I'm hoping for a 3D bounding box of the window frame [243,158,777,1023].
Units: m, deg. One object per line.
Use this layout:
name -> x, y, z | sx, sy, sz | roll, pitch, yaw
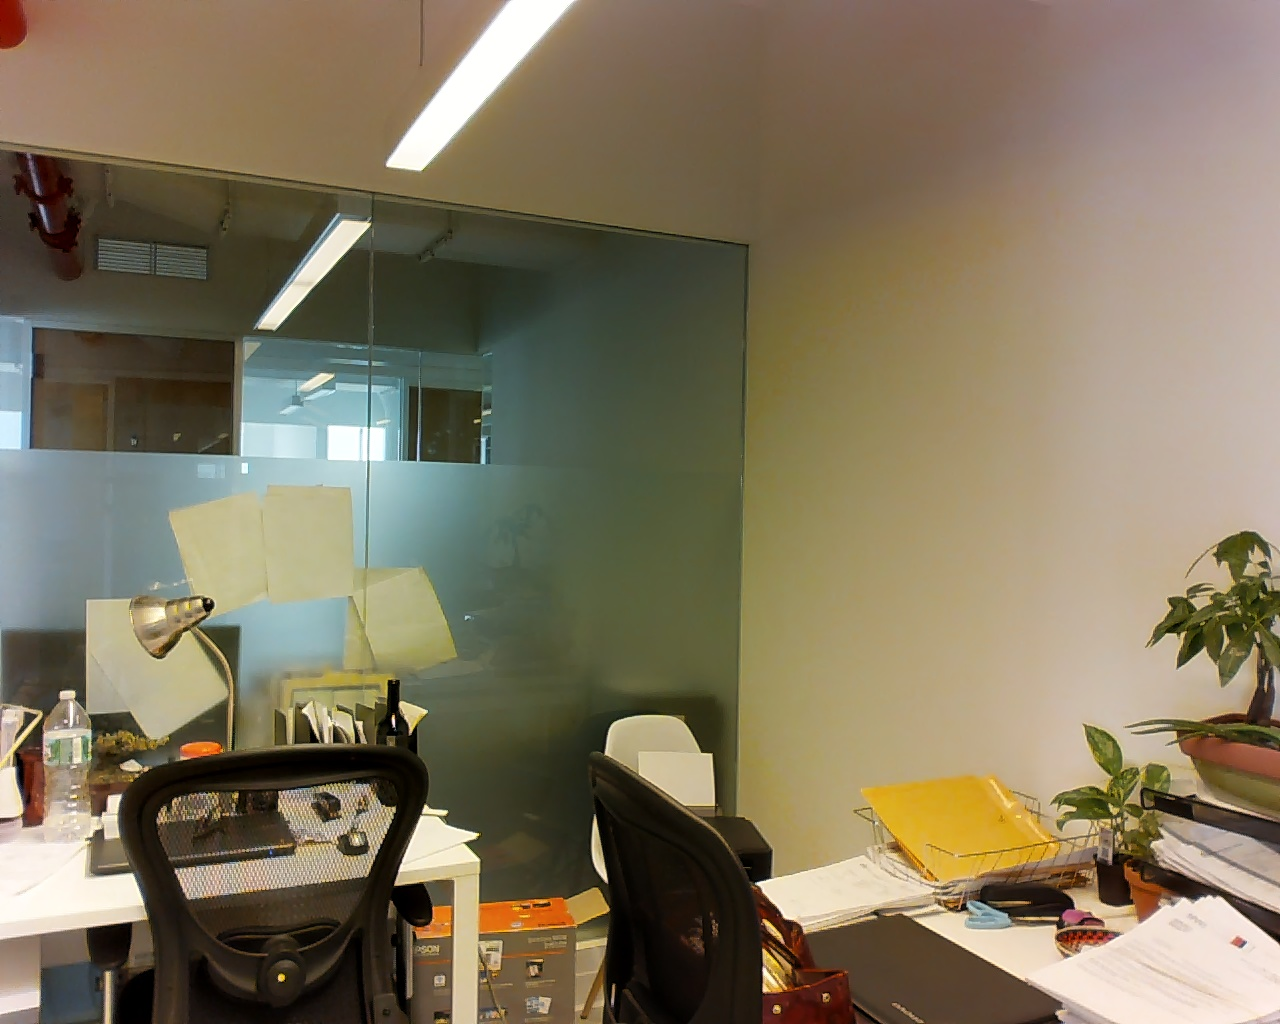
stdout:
window frame -> -0.300, 0.280, 3.020 | 1.490, 2.281, 0.120 | 1, 0, -26
